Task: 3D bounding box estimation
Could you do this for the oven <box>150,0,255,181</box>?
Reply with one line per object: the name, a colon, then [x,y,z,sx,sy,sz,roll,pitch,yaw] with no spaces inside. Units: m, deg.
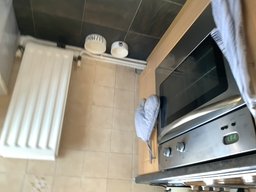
oven: [0.510,-0.090,1.040,0.600,0.900,0.600,9,154,-15]
